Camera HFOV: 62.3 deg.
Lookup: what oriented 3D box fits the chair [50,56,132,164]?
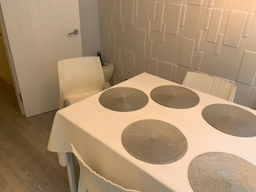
[{"bbox_3d":[-0.370,0.100,2.070,0.580,0.760,0.590,-10,32,-22],"label":"chair"}]

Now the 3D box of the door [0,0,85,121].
[{"bbox_3d":[-0.860,-0.660,2.230,0.730,1.970,0.030,-17,34,-31],"label":"door"}]
